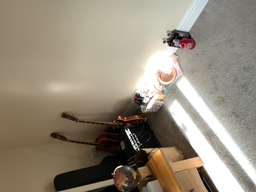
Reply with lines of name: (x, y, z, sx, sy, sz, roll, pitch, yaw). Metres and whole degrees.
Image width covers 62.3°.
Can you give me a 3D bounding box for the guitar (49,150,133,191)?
guitar: (-0.400, 0.900, 2.350, 0.290, 0.800, 0.360, -56, 49, 39)
